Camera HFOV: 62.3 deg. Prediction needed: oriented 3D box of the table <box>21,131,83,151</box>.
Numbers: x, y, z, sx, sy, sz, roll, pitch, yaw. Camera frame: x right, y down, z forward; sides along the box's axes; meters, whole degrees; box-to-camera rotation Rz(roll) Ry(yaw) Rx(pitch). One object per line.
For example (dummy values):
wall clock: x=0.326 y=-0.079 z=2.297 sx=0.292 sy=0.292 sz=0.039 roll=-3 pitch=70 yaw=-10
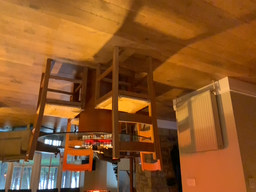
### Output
table: x=-2.430 y=1.500 z=6.950 sx=1.330 sy=0.420 sz=1.350 roll=-7 pitch=160 yaw=18

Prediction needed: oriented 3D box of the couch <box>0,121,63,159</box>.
couch: x=-2.850 y=1.200 z=5.500 sx=1.870 sy=0.760 sz=1.100 roll=-8 pitch=160 yaw=20
